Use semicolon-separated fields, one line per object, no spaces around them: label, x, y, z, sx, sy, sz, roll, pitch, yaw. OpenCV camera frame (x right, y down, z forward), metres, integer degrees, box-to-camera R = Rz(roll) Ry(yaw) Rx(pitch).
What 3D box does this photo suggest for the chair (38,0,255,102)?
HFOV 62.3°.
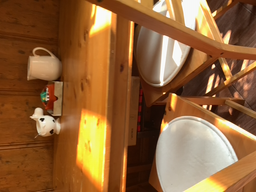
chair;0.160;-0.240;0.860;0.460;0.900;0.390;-38;57;52
